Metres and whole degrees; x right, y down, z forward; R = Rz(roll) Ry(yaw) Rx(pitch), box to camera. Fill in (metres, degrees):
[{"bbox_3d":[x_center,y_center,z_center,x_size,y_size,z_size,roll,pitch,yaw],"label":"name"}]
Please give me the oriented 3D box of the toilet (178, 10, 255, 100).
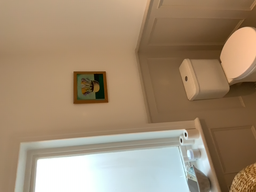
[{"bbox_3d":[0.970,-0.330,1.890,0.660,0.770,0.430,106,159,-59],"label":"toilet"}]
